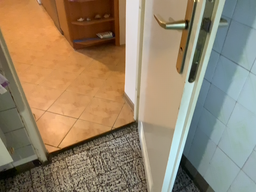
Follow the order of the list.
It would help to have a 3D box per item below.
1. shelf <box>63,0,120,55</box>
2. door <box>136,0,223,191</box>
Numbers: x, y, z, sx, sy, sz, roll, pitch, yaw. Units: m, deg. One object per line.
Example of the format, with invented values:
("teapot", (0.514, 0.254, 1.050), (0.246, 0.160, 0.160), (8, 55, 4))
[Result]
("shelf", (-0.400, -0.950, 2.460), (0.610, 0.860, 0.120), (-17, 42, -21))
("door", (0.130, -0.380, 0.800), (0.080, 1.860, 0.840), (-1, 39, -2))
